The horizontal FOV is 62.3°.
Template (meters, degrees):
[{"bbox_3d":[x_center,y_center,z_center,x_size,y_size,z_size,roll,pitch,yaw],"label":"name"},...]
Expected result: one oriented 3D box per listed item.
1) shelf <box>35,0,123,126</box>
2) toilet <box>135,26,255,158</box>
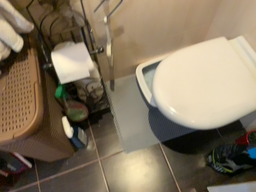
[{"bbox_3d":[-0.180,-0.100,0.990,0.220,0.590,0.260,-19,67,-8],"label":"shelf"},{"bbox_3d":[0.340,0.010,1.060,0.500,0.440,0.370,-19,67,-8],"label":"toilet"}]
